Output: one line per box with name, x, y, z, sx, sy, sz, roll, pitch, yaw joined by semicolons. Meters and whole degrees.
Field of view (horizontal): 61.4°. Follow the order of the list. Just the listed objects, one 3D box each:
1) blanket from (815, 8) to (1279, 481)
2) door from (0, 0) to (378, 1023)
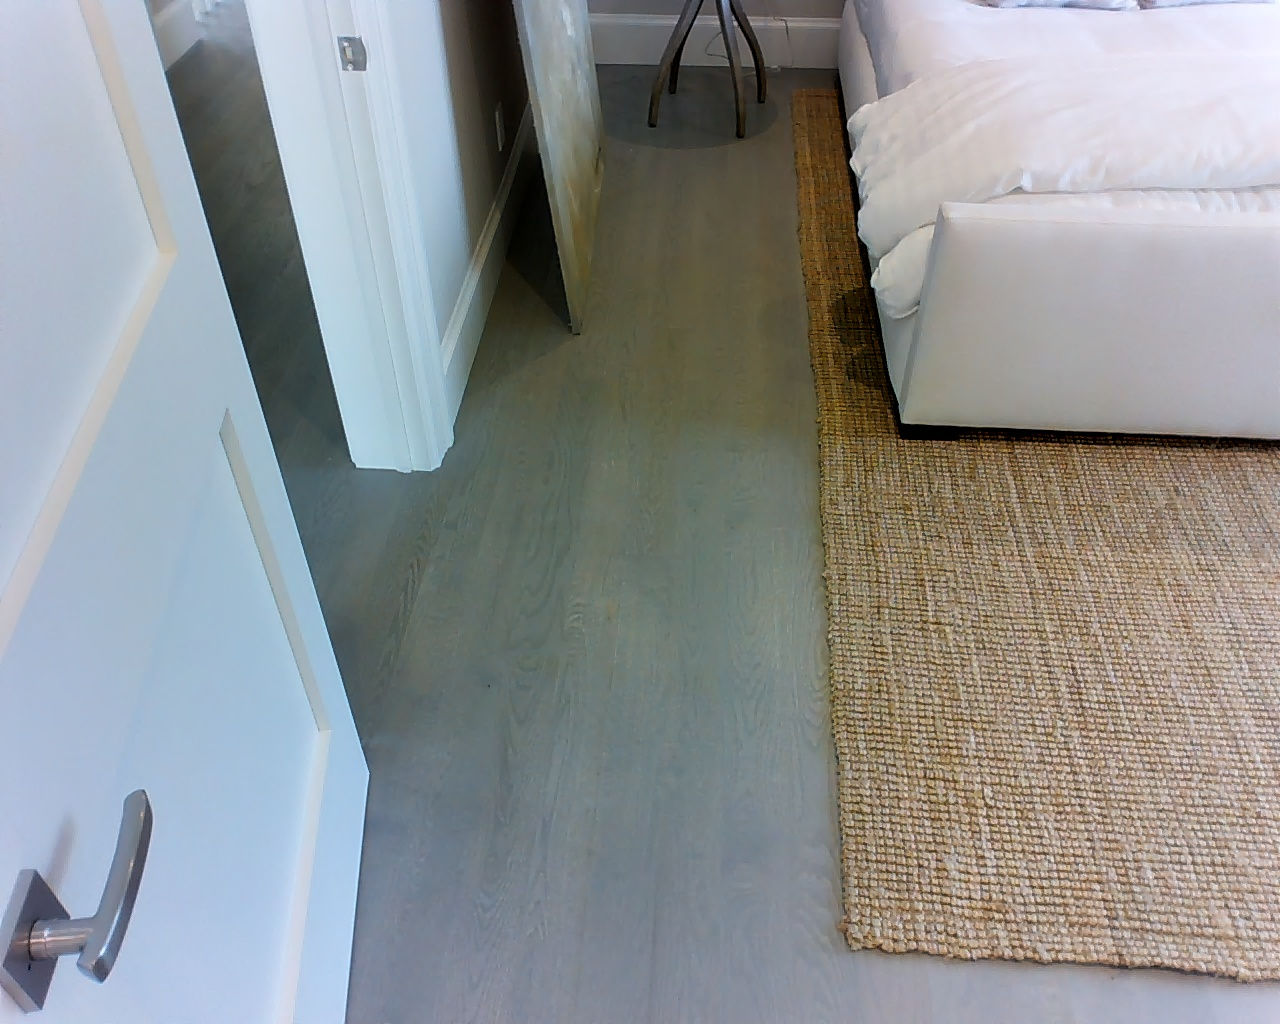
blanket;1.610;-0.660;2.590;2.210;0.720;0.970;2;42;2
door;-0.450;-0.090;0.820;0.120;2.210;0.850;-6;42;-7
